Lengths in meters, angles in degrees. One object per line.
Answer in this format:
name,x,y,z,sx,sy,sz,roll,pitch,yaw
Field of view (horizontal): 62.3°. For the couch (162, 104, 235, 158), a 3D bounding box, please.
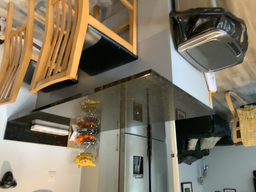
couch,1.670,0.920,4.970,1.040,0.920,1.600,-15,155,36
